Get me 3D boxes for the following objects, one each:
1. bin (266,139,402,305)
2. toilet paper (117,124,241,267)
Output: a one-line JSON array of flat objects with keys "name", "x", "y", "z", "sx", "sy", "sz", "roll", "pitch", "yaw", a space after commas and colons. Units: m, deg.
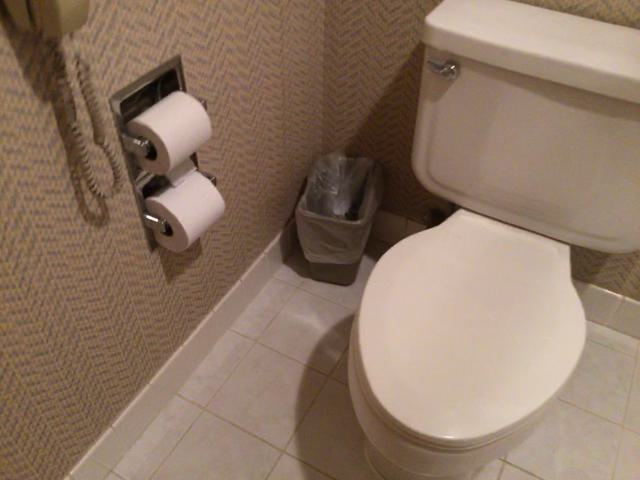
[{"name": "bin", "x": 0.040, "y": -0.050, "z": 1.480, "sx": 0.230, "sy": 0.270, "sz": 0.260, "roll": 20, "pitch": 46, "yaw": 21}, {"name": "toilet paper", "x": -0.240, "y": -0.080, "z": 1.020, "sx": 0.120, "sy": 0.170, "sz": 0.150, "roll": 20, "pitch": 46, "yaw": 21}]
